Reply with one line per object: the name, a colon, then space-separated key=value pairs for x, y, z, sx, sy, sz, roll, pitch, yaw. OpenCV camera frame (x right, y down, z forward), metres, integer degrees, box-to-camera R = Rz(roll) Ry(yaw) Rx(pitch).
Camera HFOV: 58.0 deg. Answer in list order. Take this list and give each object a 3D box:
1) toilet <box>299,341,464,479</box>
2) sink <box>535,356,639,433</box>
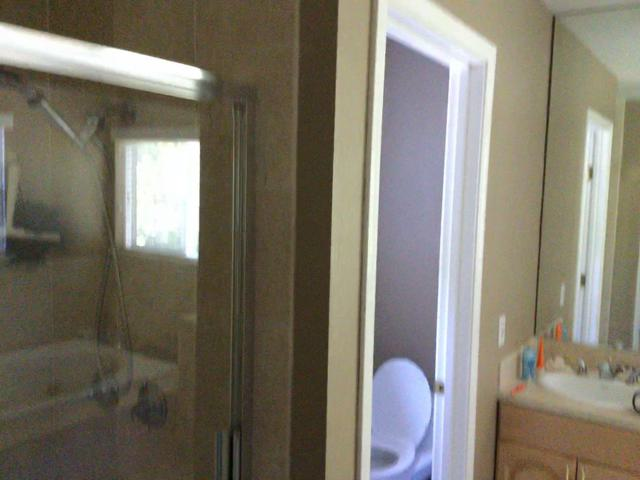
toilet: x=0.310 y=0.960 z=2.780 sx=0.490 sy=0.770 sz=0.700 roll=3 pitch=3 yaw=37
sink: x=1.130 y=0.600 z=2.290 sx=0.420 sy=0.140 sz=0.400 roll=3 pitch=3 yaw=37
